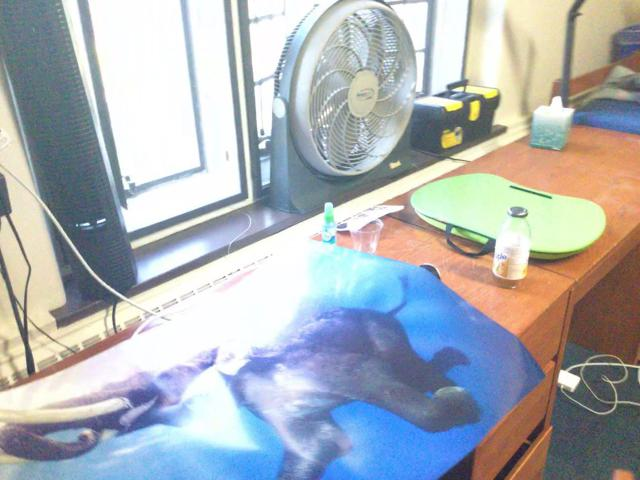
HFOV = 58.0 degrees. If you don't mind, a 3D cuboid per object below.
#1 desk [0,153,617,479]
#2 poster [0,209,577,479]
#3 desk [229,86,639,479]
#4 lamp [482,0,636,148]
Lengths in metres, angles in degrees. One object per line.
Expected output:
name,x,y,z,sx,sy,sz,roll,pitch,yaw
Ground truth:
desk,-0.100,0.460,1.260,0.820,0.860,1.290,21,35,40
poster,-0.140,0.260,0.990,0.720,0.150,1.000,21,35,40
desk,0.670,0.130,1.850,0.820,0.850,1.660,21,35,40
lamp,0.890,-0.730,2.160,0.380,0.640,0.350,21,35,40
